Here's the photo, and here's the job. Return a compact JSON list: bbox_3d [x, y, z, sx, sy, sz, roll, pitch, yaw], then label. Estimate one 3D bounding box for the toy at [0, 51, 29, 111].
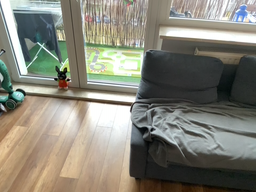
[{"bbox_3d":[-1.370,-0.170,2.230,0.390,0.510,0.310,11,37,11],"label":"toy"}]
